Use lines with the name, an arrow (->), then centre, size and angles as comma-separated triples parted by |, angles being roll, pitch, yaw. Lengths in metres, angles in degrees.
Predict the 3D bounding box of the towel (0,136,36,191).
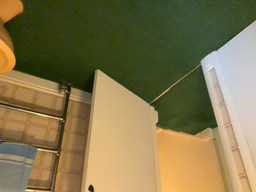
towel -> -0.760, 0.420, 1.280 | 0.310, 0.320, 0.100 | 20, 141, -30

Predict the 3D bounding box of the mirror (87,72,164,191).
mirror -> 0.040, 0.780, 1.480 | 0.020, 1.930, 0.840 | -26, 140, 32
